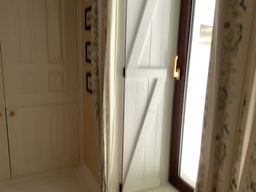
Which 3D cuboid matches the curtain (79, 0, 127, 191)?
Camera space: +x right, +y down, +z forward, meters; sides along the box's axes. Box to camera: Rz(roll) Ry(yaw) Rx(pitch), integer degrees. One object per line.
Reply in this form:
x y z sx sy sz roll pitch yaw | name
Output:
-0.180 -0.290 1.390 0.180 2.110 0.360 -4 -167 -28 | curtain
